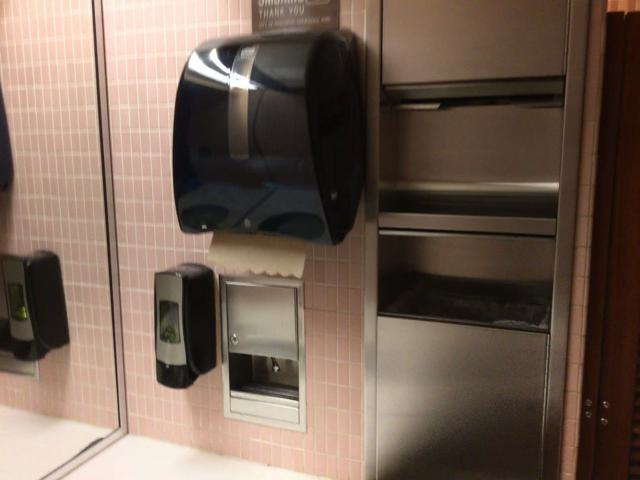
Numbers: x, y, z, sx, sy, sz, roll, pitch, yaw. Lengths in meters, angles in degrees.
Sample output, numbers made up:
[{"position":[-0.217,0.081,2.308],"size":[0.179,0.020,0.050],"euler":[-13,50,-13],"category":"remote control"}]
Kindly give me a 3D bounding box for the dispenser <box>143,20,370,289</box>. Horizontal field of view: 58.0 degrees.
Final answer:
[{"position":[-0.100,-0.140,1.020],"size":[0.320,0.400,0.200],"euler":[1,9,22],"category":"dispenser"}]

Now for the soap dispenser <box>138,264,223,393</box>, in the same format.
[{"position":[-0.290,0.180,1.210],"size":[0.120,0.240,0.100],"euler":[1,9,22],"category":"soap dispenser"}]

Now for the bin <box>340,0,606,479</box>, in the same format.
[{"position":[0.300,0.340,1.140],"size":[0.420,1.580,0.210],"euler":[1,9,22],"category":"bin"}]
